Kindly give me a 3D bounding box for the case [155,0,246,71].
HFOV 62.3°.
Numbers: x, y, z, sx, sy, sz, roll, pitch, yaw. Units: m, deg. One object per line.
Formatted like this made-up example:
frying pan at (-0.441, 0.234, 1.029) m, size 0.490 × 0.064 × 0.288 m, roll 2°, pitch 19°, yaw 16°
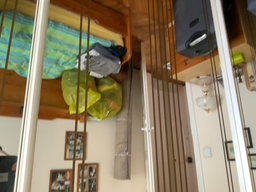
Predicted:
case at (0.530, -0.650, 1.700) m, size 0.320 × 0.700 × 0.540 m, roll 10°, pitch 161°, yaw -32°
